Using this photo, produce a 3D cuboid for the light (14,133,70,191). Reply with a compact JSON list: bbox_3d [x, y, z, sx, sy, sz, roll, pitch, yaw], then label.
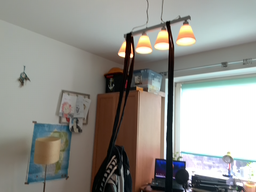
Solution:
[{"bbox_3d":[-0.940,1.150,2.200,0.470,1.480,0.320,-5,-11,43],"label":"light"}]
